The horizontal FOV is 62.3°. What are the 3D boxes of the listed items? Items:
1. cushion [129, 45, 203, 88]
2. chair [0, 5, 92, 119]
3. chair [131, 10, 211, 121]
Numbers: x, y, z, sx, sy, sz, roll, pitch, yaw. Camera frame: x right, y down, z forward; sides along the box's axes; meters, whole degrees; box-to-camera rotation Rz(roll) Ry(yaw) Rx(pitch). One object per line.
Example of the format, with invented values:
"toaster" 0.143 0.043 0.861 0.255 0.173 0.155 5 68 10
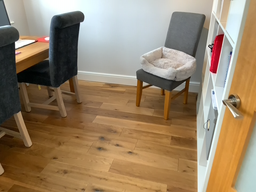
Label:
"cushion" 0.400 -0.360 2.340 0.490 0.210 0.610 -24 37 -36
"chair" -0.880 -0.390 2.380 0.720 1.100 0.470 9 30 15
"chair" 0.460 -0.380 2.440 0.500 1.030 0.690 25 38 38
